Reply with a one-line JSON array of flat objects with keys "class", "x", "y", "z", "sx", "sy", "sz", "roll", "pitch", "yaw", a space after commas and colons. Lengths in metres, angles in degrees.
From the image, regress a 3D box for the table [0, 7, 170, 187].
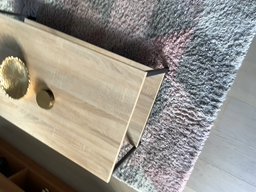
[{"class": "table", "x": -0.370, "y": -0.080, "z": 1.180, "sx": 1.000, "sy": 0.430, "sz": 0.530, "roll": 24, "pitch": 108, "yaw": 17}]
